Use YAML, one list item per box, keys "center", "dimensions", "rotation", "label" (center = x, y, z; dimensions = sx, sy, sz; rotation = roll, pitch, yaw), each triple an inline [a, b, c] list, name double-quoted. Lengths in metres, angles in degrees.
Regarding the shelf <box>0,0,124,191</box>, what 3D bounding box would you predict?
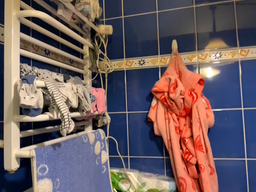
- center: [-0.230, 0.090, 0.830]
  dimensions: [0.220, 1.100, 0.610]
  rotation: [-3, -3, 17]
  label: "shelf"
